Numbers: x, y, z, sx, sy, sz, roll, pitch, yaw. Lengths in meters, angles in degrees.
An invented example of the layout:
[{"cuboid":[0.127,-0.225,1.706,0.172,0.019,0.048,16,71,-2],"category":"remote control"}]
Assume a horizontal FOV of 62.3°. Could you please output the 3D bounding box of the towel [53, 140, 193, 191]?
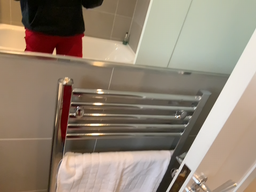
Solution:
[{"cuboid":[-0.030,0.340,0.890,0.520,0.320,0.100,4,33,-21],"category":"towel"}]
